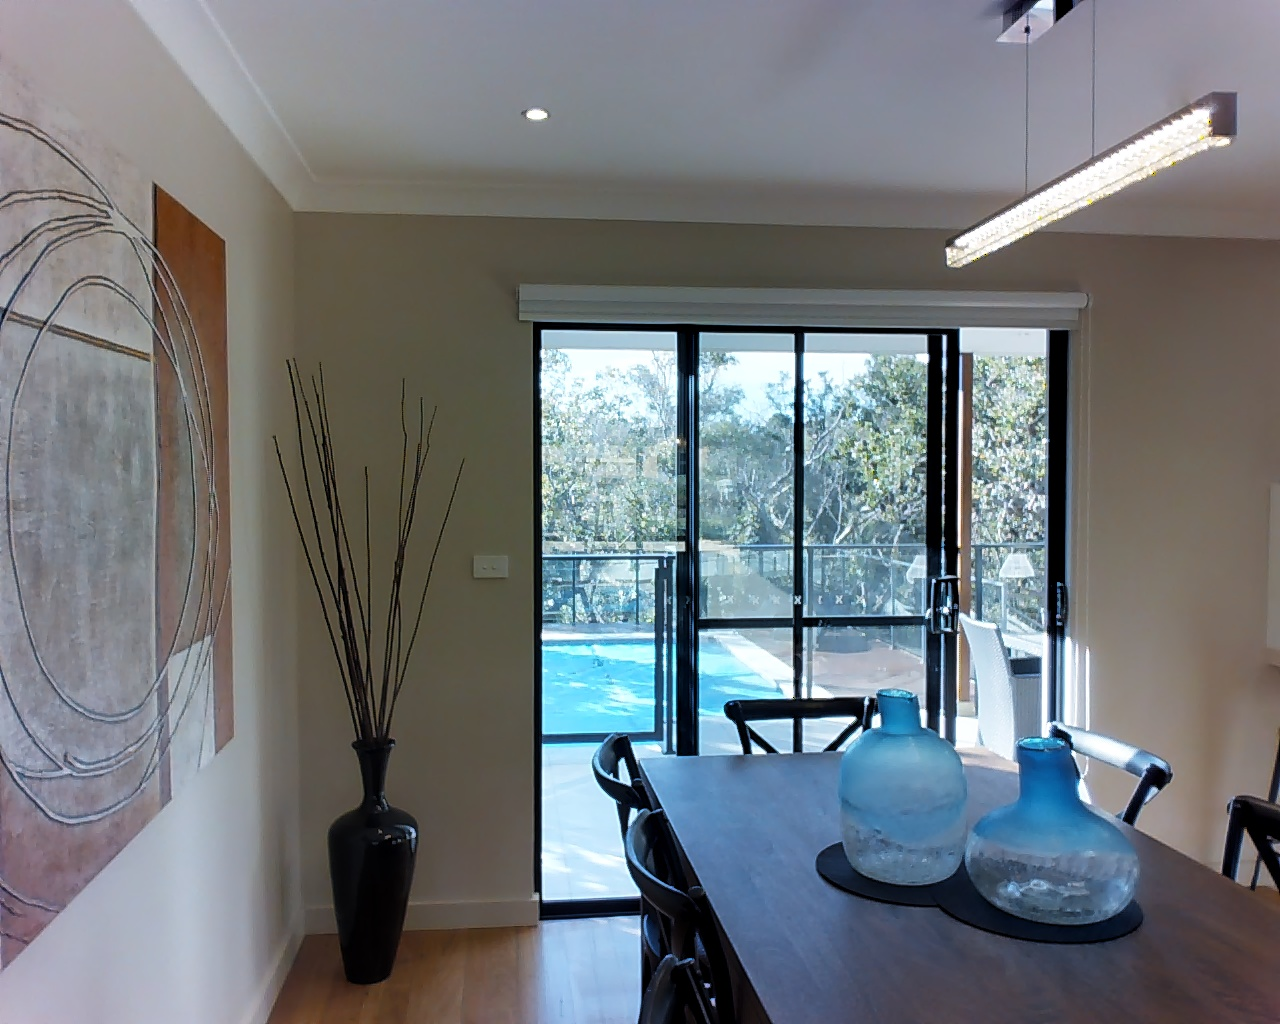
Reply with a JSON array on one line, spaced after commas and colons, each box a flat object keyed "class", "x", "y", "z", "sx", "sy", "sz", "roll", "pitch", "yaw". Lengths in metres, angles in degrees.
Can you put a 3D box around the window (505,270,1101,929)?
[{"class": "window", "x": 0.590, "y": 0.300, "z": 3.820, "sx": 2.119, "sy": 2.221, "sz": 0.180, "roll": 0, "pitch": 2, "yaw": -7}]
